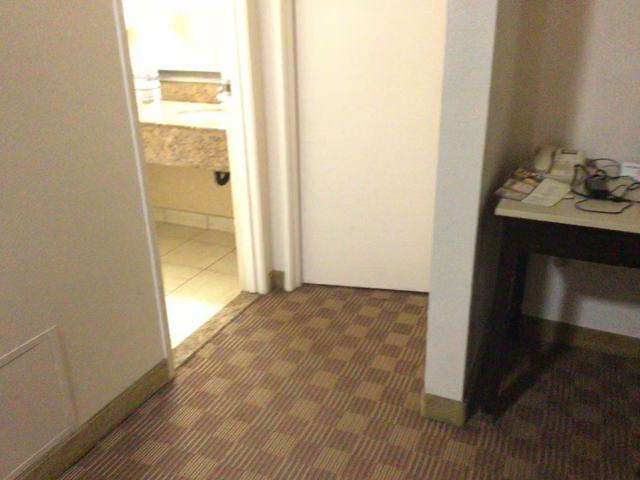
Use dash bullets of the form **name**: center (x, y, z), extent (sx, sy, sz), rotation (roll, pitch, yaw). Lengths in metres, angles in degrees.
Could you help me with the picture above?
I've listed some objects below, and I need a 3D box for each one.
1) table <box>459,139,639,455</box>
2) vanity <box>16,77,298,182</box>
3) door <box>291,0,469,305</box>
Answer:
- **table**: center (1.250, 0.220, 1.860), extent (1.350, 0.780, 0.660), rotation (13, 23, 20)
- **vanity**: center (-0.900, -0.660, 3.240), extent (1.440, 0.410, 0.590), rotation (9, 20, 21)
- **door**: center (0.240, -0.630, 2.530), extent (0.710, 1.910, 0.070), rotation (6, 21, 10)
